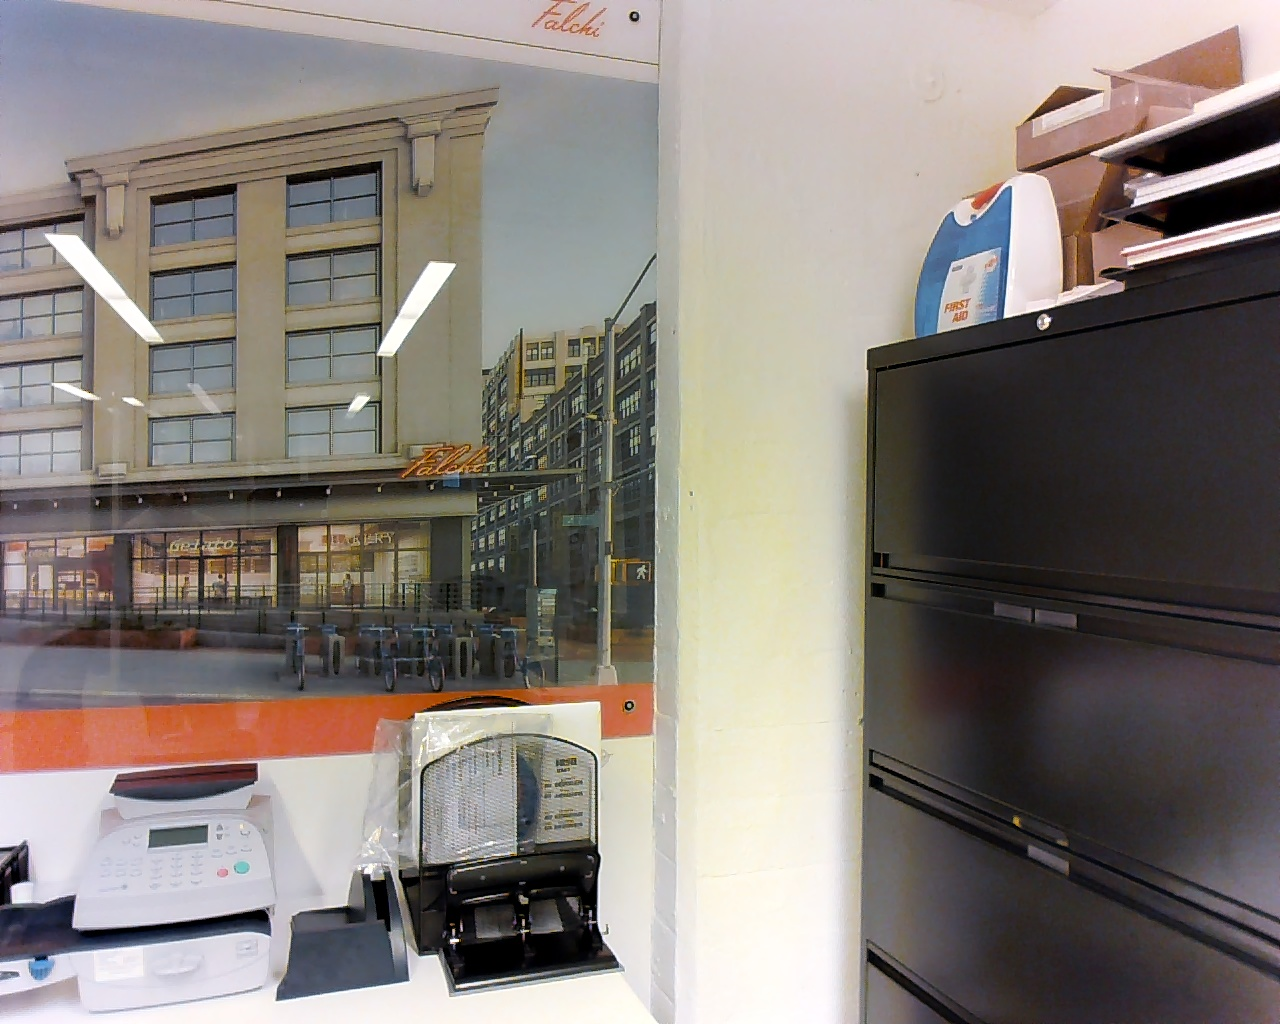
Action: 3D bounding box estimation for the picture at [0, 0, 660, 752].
[{"bbox_3d":[-1.120,-0.240,1.750,2.420,1.260,0.070,1,0,-20],"label":"picture"}]
